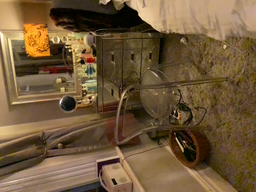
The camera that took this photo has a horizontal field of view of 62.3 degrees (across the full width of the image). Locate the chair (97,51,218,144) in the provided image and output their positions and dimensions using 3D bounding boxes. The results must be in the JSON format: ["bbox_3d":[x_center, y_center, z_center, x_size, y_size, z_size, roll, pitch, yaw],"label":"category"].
[{"bbox_3d":[0.190,-0.030,1.730,0.480,0.760,0.500,-124,35,-48],"label":"chair"}]
